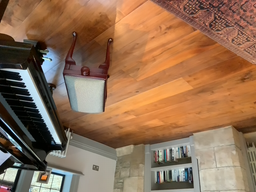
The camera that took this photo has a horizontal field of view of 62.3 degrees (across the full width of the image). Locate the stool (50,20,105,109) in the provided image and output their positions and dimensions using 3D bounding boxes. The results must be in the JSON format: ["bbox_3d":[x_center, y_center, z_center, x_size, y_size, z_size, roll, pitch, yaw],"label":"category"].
[{"bbox_3d":[-0.390,-0.240,1.810,0.320,0.460,0.580,7,150,-4],"label":"stool"}]

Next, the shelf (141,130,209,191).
[{"bbox_3d":[0.740,1.710,3.430,1.050,2.090,0.410,-22,141,37],"label":"shelf"}]
